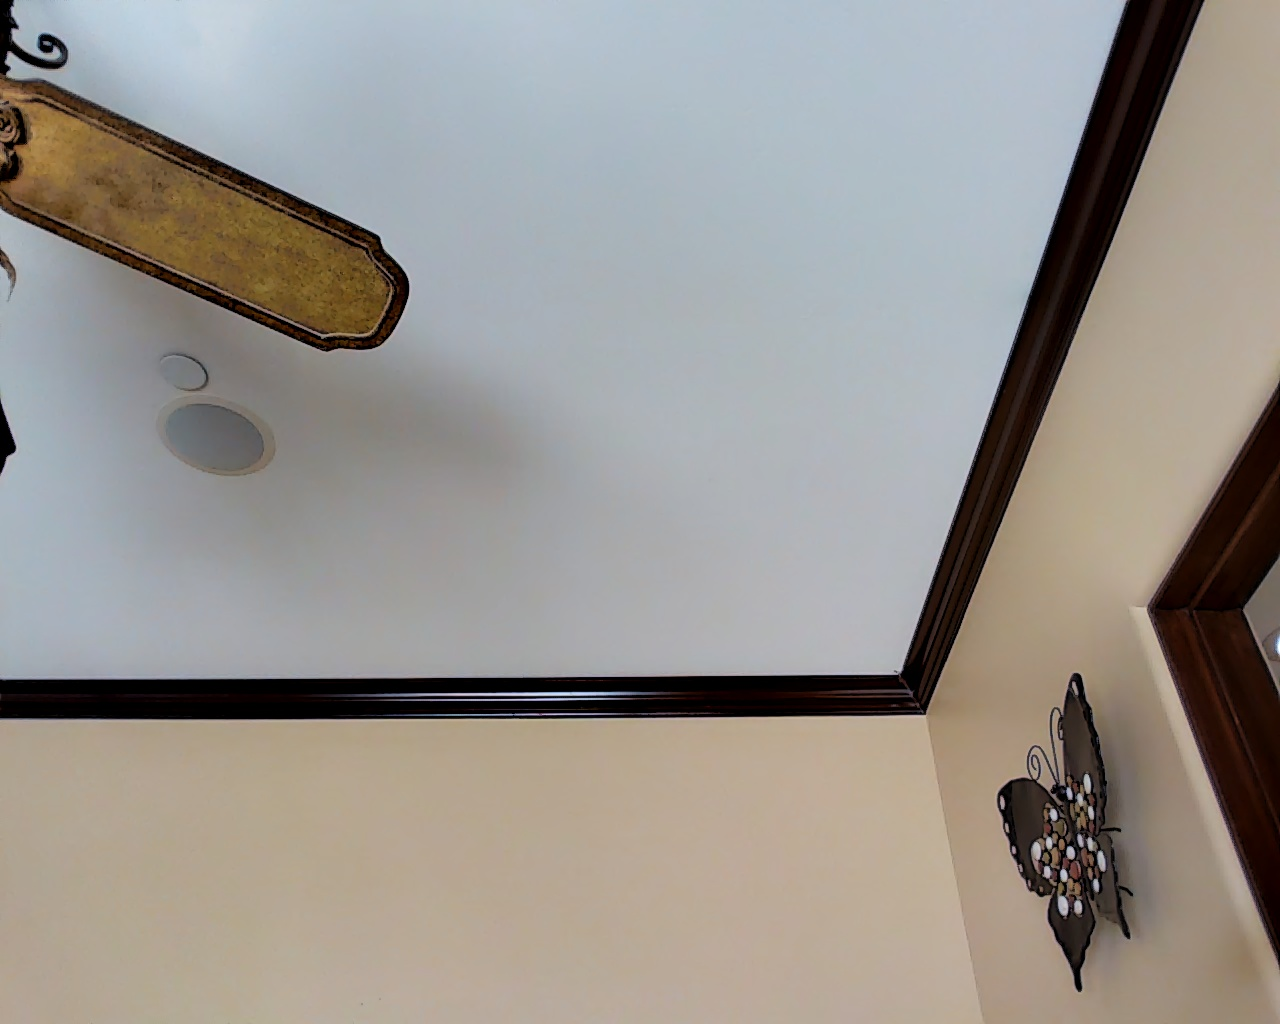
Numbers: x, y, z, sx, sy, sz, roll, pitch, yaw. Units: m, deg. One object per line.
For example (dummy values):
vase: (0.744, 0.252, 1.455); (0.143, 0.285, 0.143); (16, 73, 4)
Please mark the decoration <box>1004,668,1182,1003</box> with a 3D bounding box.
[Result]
decoration: (0.710, 0.530, 1.730); (0.050, 0.370, 0.440); (0, -41, 0)
